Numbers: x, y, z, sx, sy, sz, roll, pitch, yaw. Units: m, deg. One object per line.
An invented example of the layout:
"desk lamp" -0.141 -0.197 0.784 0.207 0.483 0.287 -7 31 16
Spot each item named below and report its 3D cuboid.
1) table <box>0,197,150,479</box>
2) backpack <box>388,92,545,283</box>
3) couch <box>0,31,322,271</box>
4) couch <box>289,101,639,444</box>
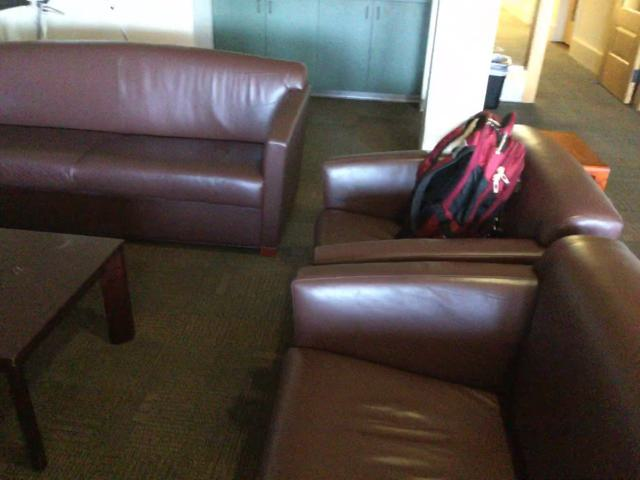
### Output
"table" -1.180 0.230 1.680 1.090 0.460 0.680 3 31 6
"backpack" 0.390 -0.170 1.680 0.360 0.470 0.350 3 20 6
"couch" -0.750 -0.430 2.540 1.470 0.780 0.800 1 31 3
"couch" 0.340 0.050 1.840 0.790 0.740 0.840 0 31 2
